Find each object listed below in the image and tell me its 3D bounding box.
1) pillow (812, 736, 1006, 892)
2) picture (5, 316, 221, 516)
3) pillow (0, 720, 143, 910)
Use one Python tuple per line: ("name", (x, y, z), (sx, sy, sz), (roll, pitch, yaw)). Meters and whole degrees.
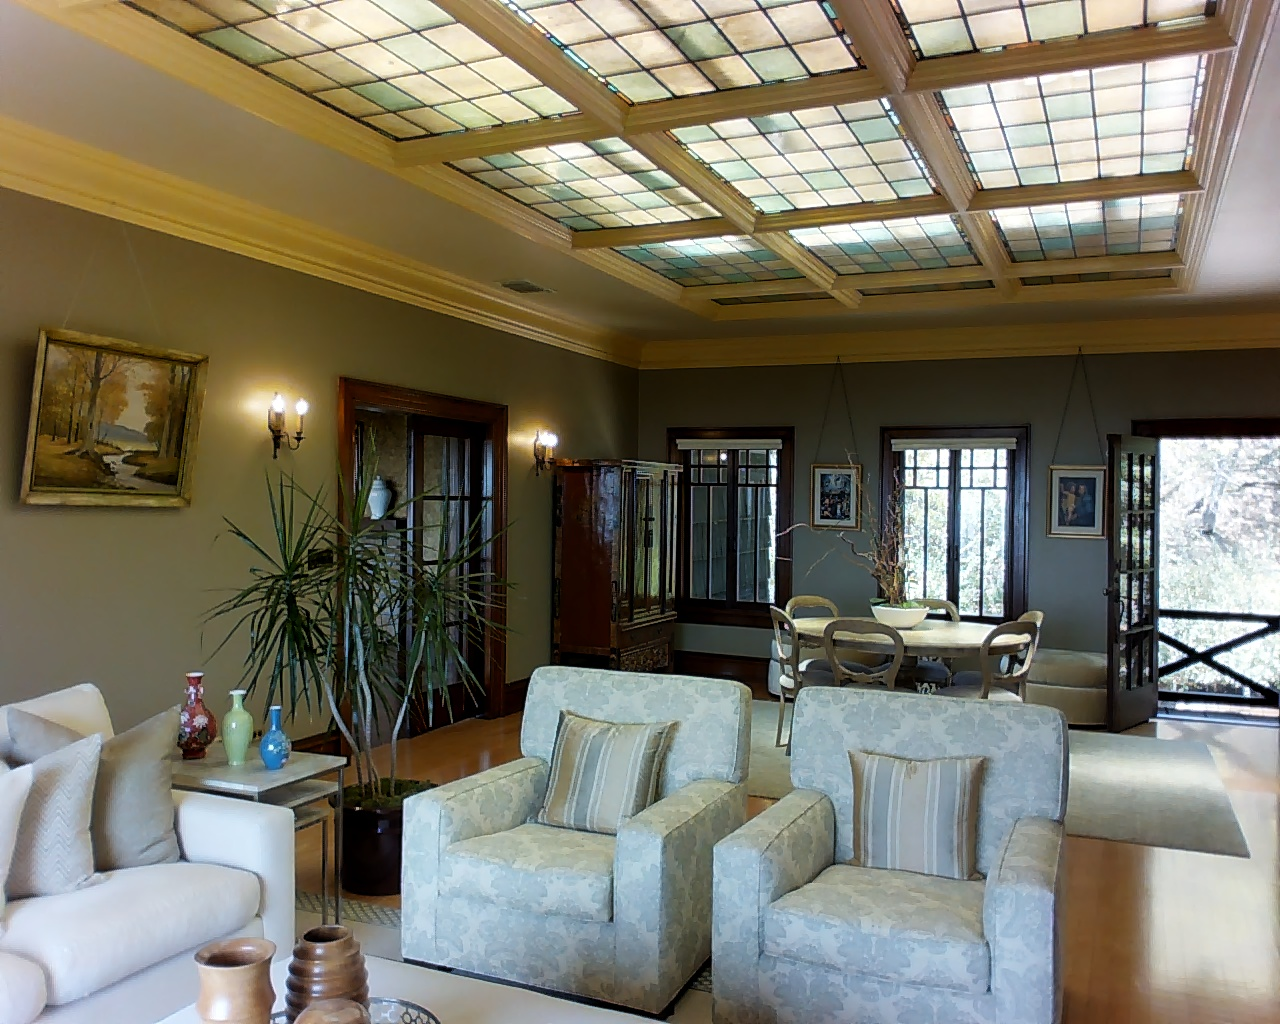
("pillow", (0.860, 0.950, 3.440), (0.560, 0.400, 0.180), (1, -12, 24))
("picture", (-2.300, -0.420, 4.790), (0.120, 0.800, 0.970), (1, 5, 24))
("pillow", (-1.770, 0.840, 3.070), (0.590, 0.400, 0.310), (1, 0, 19))
